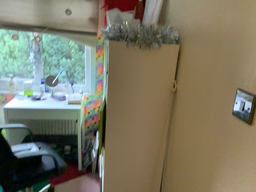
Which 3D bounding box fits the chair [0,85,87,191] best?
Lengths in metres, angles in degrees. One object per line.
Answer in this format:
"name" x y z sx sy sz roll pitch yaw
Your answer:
"chair" -0.800 0.500 1.660 0.660 0.980 0.650 14 20 31
